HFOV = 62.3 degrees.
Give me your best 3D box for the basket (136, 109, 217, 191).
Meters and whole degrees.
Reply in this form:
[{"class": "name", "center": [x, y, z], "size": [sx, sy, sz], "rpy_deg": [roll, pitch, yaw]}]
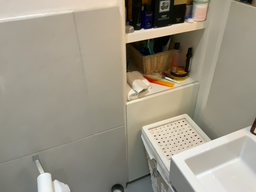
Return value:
[{"class": "basket", "center": [0.250, 0.420, 1.290], "size": [0.290, 0.540, 0.320], "rpy_deg": [-14, 39, -17]}]
